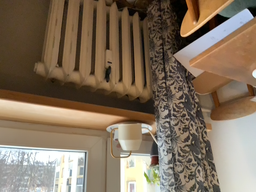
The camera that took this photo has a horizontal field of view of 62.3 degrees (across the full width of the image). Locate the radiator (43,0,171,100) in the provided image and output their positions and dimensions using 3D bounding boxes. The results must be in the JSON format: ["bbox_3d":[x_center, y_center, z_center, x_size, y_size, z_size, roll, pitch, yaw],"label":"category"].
[{"bbox_3d":[-0.100,-0.360,1.250,0.650,0.650,0.200,10,156,-26],"label":"radiator"}]

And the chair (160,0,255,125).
[{"bbox_3d":[0.510,-0.260,1.350,0.390,0.770,0.400,11,155,-28],"label":"chair"}]
